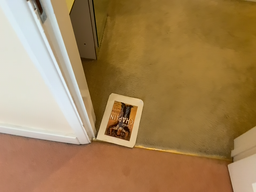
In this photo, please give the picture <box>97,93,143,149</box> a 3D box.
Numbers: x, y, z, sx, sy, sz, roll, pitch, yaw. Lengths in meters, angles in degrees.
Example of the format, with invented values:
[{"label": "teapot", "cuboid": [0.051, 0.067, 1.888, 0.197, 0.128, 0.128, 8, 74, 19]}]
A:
[{"label": "picture", "cuboid": [-0.040, 0.130, 1.190, 0.200, 0.010, 0.290, 12, 63, 3]}]
